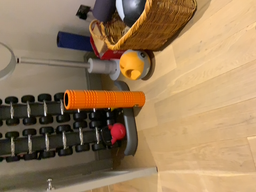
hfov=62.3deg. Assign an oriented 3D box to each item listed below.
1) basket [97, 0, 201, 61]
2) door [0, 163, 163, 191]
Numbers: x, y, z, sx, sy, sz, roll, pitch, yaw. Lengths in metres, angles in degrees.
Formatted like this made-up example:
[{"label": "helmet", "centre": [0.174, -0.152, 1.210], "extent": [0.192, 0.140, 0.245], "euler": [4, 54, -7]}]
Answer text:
[{"label": "basket", "centre": [0.100, -0.610, 1.500], "extent": [0.600, 0.380, 0.490], "euler": [-27, 68, 55]}, {"label": "door", "centre": [-0.780, 0.700, 1.550], "extent": [0.850, 1.980, 0.040], "euler": [-23, 71, 56]}]
